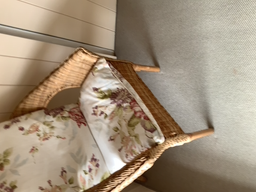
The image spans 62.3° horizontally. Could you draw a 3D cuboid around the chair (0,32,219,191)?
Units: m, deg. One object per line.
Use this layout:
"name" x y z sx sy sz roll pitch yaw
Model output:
"chair" -0.090 0.170 1.070 0.560 0.780 0.590 -52 60 28
